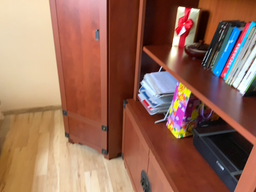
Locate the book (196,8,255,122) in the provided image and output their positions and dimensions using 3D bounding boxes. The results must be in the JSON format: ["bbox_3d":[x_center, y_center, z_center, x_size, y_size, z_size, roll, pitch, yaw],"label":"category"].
[{"bbox_3d":[0.510,-0.120,0.760,0.240,0.300,0.490,-4,30,-14],"label":"book"}]
